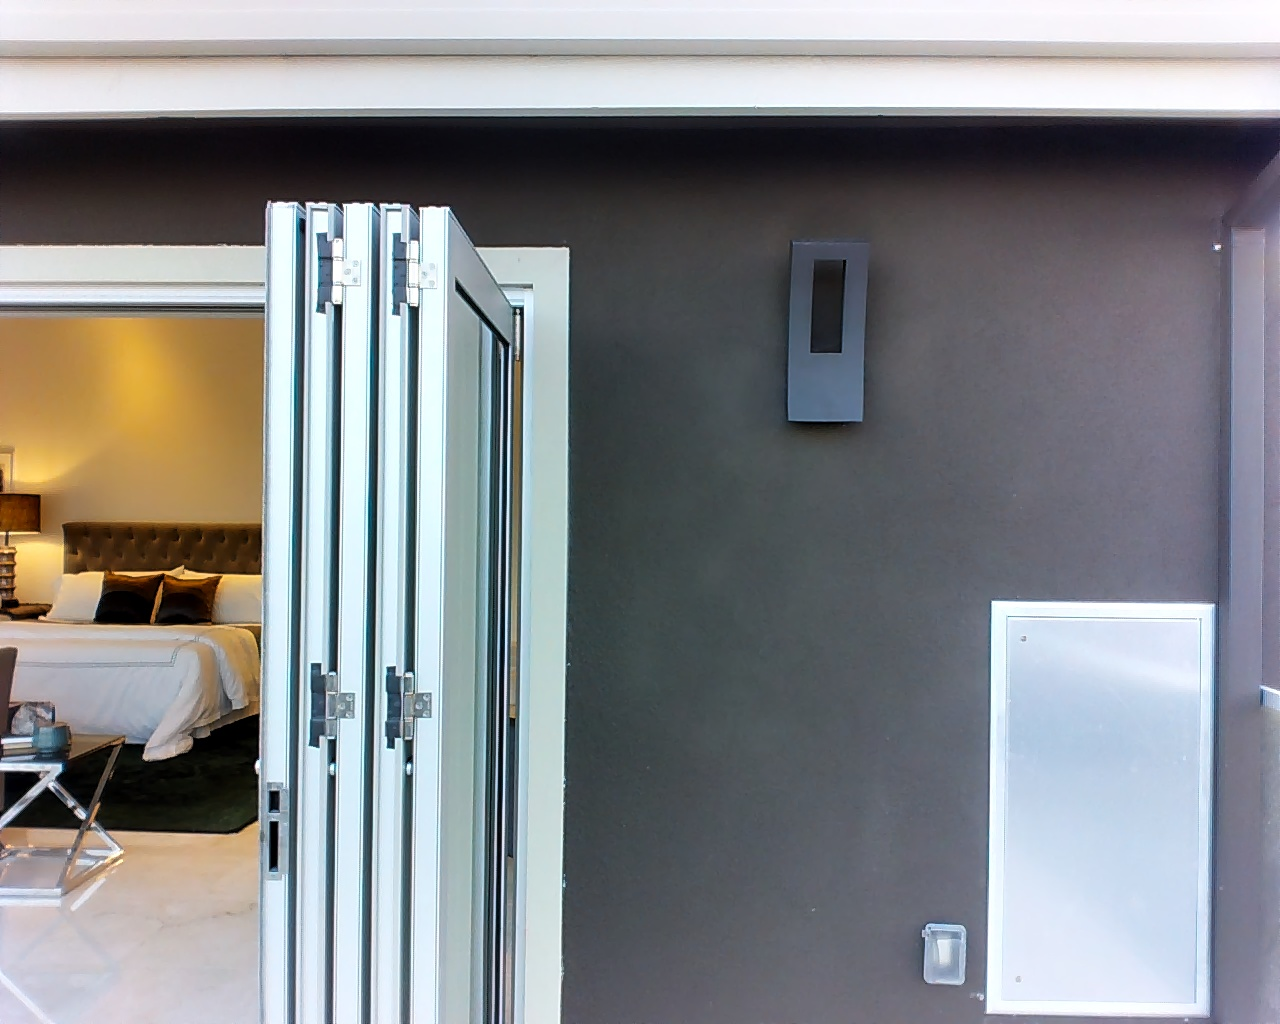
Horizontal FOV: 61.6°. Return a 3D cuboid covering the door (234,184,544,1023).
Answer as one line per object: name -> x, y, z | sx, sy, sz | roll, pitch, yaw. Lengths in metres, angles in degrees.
door -> -0.460, 0.460, 2.250 | 0.370, 1.990, 1.000 | 1, 1, 2
